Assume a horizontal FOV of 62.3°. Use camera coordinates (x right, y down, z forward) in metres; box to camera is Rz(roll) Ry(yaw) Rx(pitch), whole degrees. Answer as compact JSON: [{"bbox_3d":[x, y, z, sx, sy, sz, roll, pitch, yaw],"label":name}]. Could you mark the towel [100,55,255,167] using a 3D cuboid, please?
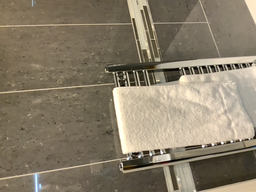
[{"bbox_3d":[0.310,0.030,0.820,0.130,0.790,0.330,115,147,-64],"label":"towel"}]
